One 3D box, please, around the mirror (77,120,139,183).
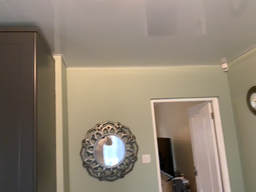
[{"bbox_3d":[-0.210,0.560,2.200,0.610,0.580,0.080,-2,-9,-11],"label":"mirror"}]
